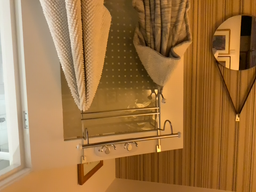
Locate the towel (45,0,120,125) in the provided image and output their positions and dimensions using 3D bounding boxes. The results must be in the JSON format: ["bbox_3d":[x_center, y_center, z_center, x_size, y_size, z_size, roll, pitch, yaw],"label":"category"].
[{"bbox_3d":[-0.190,-0.260,0.850,0.240,0.700,0.210,-3,-174,-26],"label":"towel"}]

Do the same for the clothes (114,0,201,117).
[{"bbox_3d":[0.130,-0.640,0.950,0.350,1.430,0.180,-3,-174,-21],"label":"clothes"}]
